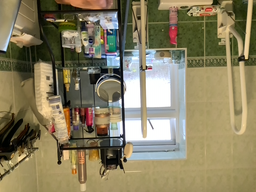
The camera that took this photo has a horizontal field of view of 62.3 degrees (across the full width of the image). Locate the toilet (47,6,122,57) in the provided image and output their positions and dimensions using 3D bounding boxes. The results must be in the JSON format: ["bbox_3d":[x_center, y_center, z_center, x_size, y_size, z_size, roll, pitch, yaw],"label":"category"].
[{"bbox_3d":[-0.260,-0.400,1.390,0.410,0.240,0.370,-1,-175,-5],"label":"toilet"}]
